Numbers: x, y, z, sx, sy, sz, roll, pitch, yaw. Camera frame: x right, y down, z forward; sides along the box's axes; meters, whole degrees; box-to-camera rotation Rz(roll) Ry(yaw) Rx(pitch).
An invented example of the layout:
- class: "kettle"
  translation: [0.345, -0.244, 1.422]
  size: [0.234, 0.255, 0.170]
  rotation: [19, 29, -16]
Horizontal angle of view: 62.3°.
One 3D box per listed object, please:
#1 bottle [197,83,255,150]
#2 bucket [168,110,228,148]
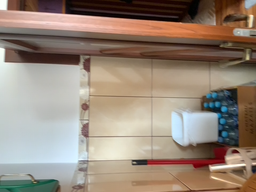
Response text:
- class: "bottle"
  translation: [0.630, 0.120, 1.250]
  size: [0.310, 0.310, 0.340]
  rotation: [148, 123, -79]
- class: "bucket"
  translation: [0.400, 0.190, 1.260]
  size: [0.240, 0.250, 0.200]
  rotation: [148, 123, -79]
